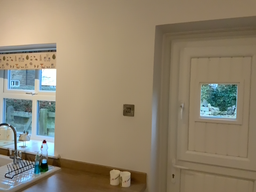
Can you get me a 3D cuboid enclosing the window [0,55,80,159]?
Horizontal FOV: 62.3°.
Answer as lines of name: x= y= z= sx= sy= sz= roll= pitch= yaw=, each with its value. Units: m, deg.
window: x=-1.090 y=0.090 z=2.460 sx=1.200 sy=1.080 sz=0.080 roll=3 pitch=3 yaw=22
